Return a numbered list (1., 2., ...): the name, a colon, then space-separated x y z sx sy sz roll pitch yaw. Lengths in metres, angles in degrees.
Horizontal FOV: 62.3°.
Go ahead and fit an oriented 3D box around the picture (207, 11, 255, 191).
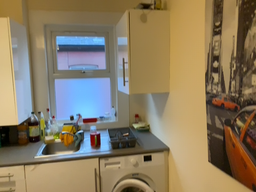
1. picture: 0.520 0.040 1.040 0.030 0.800 0.410 -2 6 -10
